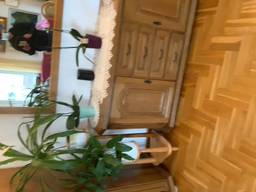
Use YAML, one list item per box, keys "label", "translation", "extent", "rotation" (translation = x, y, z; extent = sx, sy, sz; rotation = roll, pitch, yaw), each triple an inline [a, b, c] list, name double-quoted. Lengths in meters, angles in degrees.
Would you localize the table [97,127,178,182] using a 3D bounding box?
- label: "table"
  translation: [0.090, 0.570, 2.190]
  extent: [0.390, 0.690, 0.350]
  rotation: [28, 112, 59]
